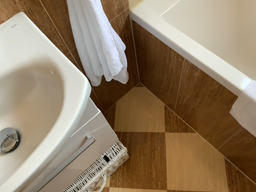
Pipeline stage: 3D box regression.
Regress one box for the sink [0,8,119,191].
[{"bbox_3d":[-0.340,0.070,0.510,0.490,0.150,0.380,-40,66,-13],"label":"sink"}]
